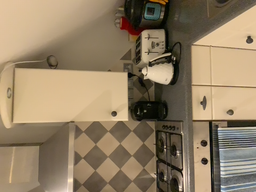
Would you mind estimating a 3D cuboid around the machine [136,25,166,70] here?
[{"bbox_3d":[0.180,-0.380,1.730,0.300,0.150,0.270,162,109,-77],"label":"machine"}]

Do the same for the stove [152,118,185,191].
[{"bbox_3d":[0.290,0.470,1.620,0.560,0.020,0.590,160,111,-77],"label":"stove"}]
